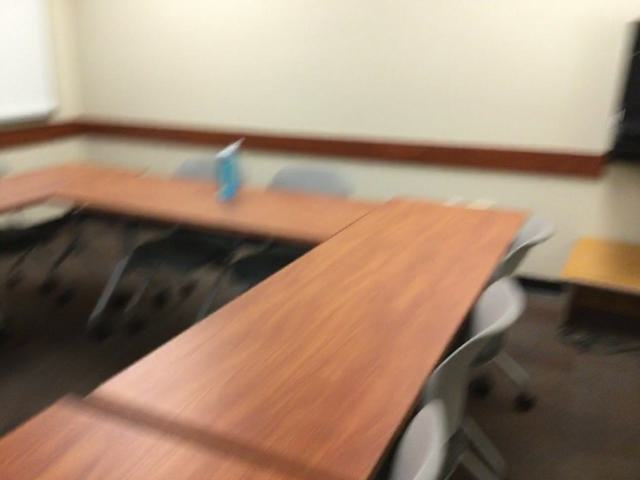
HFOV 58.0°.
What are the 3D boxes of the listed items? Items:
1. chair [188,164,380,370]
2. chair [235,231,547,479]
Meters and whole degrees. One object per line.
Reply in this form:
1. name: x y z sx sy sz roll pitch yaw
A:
1. chair: -0.130 0.070 2.660 0.570 0.680 0.690 9 21 27
2. chair: 0.220 0.500 1.560 0.560 0.830 0.670 9 21 27
